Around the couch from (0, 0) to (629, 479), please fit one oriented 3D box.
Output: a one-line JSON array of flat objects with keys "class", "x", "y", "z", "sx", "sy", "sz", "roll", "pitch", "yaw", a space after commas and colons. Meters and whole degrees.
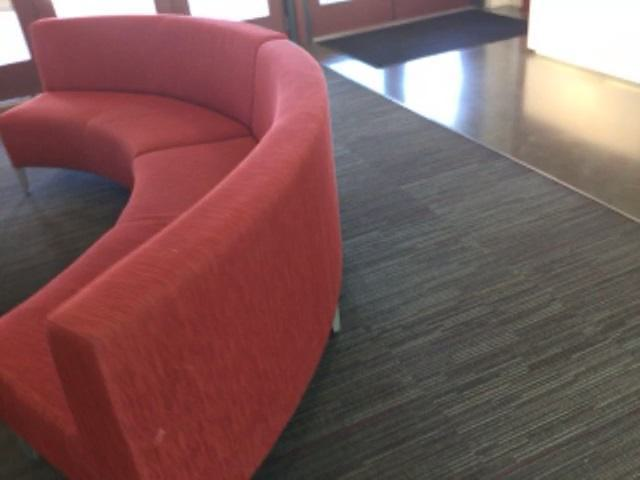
[{"class": "couch", "x": -0.620, "y": -0.310, "z": 2.270, "sx": 1.300, "sy": 0.790, "sz": 3.120, "roll": -14, "pitch": 33, "yaw": -17}]
